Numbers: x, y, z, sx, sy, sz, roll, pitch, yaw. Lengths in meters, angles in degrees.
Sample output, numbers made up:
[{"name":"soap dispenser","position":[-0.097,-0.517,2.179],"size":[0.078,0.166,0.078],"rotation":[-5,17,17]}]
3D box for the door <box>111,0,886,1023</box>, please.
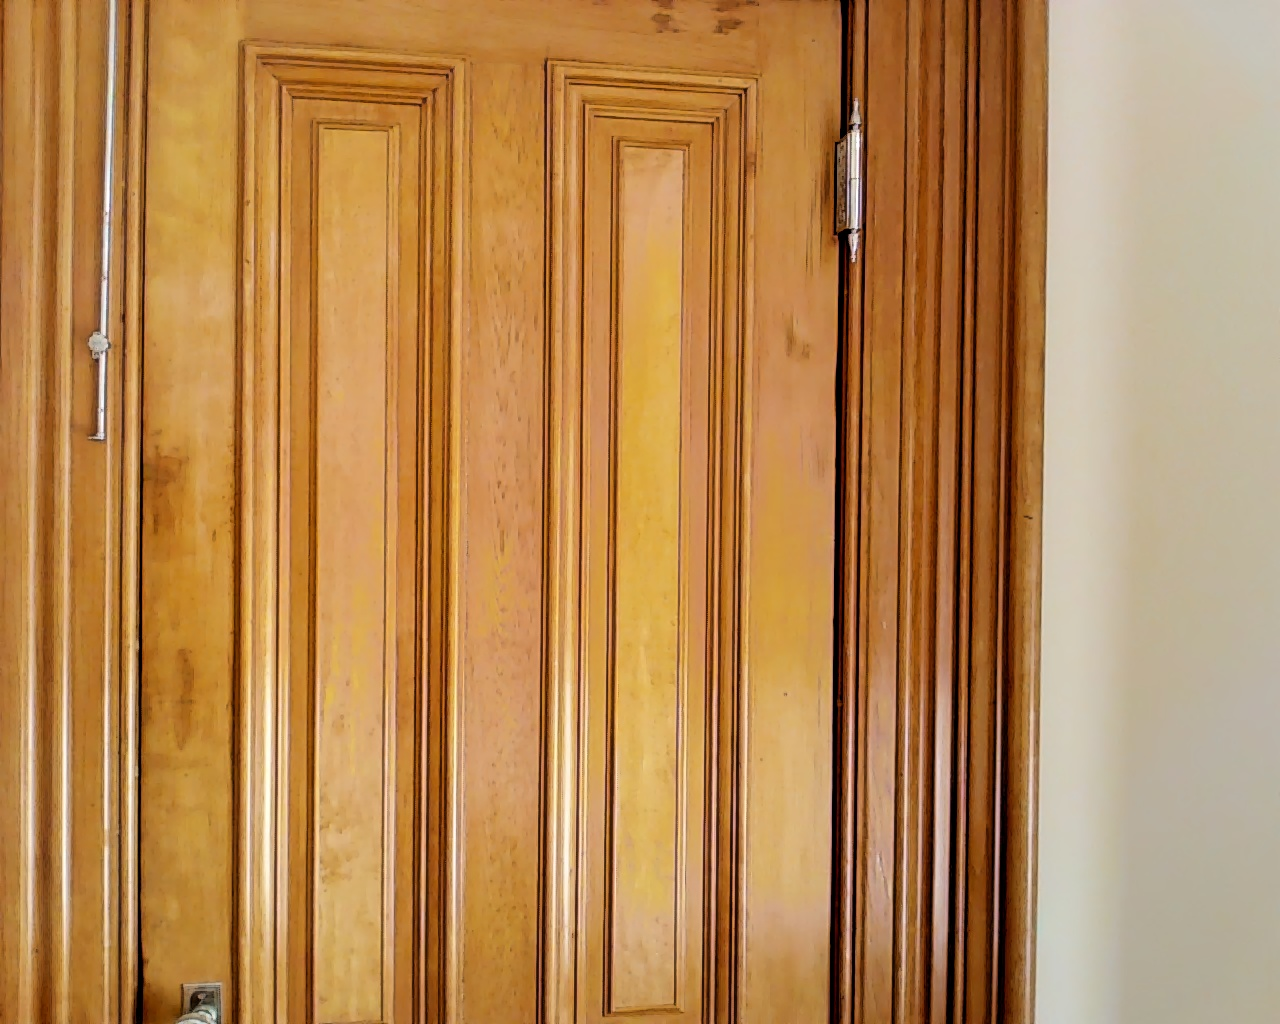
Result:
[{"name":"door","position":[-0.170,0.390,1.420],"size":[0.980,2.240,0.080],"rotation":[0,1,-6]}]
